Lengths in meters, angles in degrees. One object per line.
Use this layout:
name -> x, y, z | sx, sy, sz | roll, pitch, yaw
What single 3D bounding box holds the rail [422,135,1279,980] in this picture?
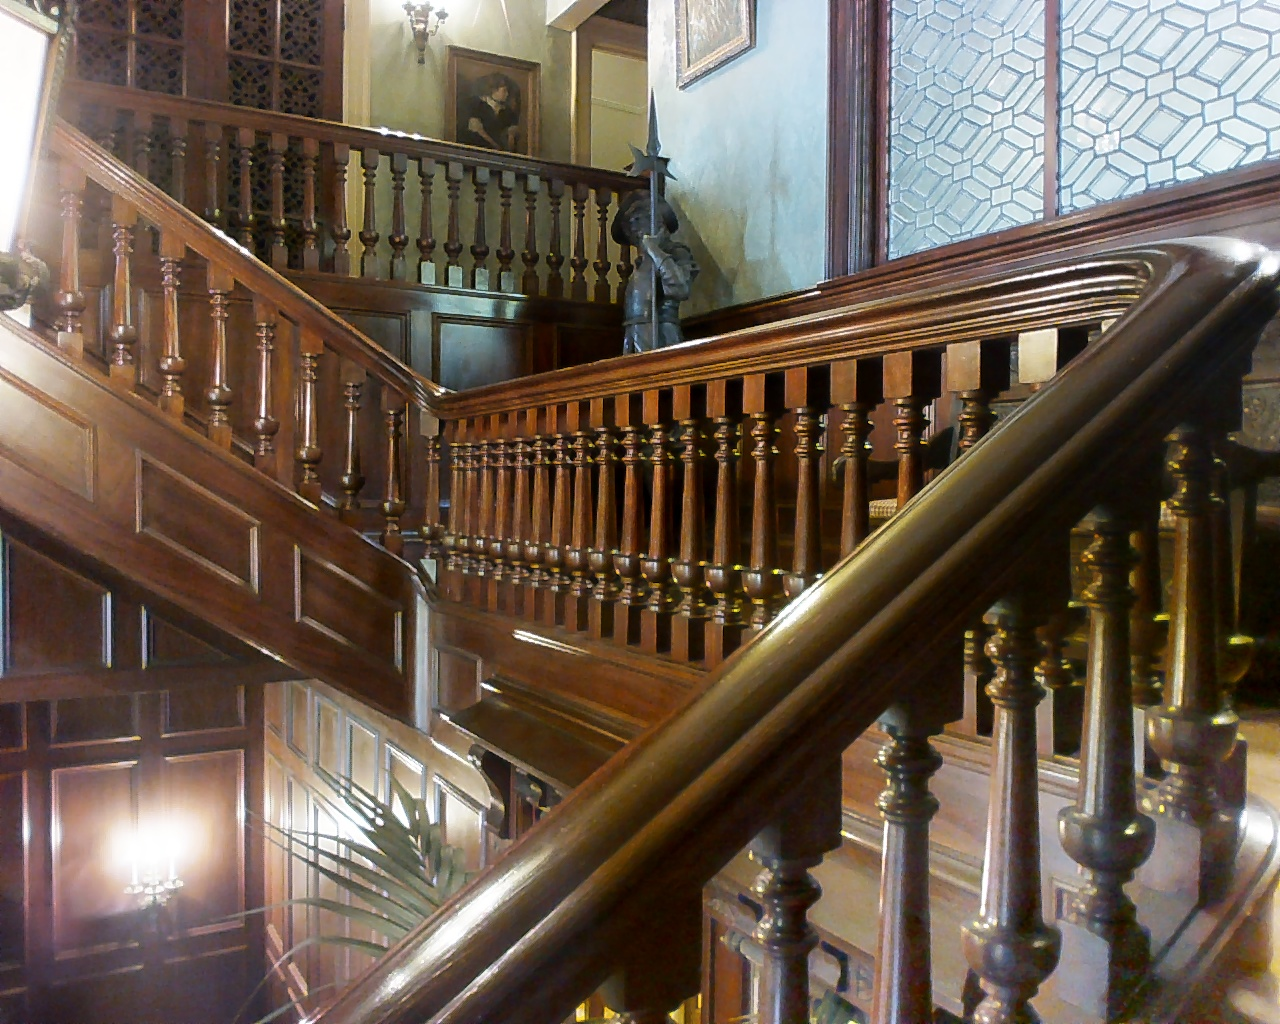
rail -> 0.050, 0.020, 2.400 | 0.150, 0.900, 2.830 | 0, 1, -30
